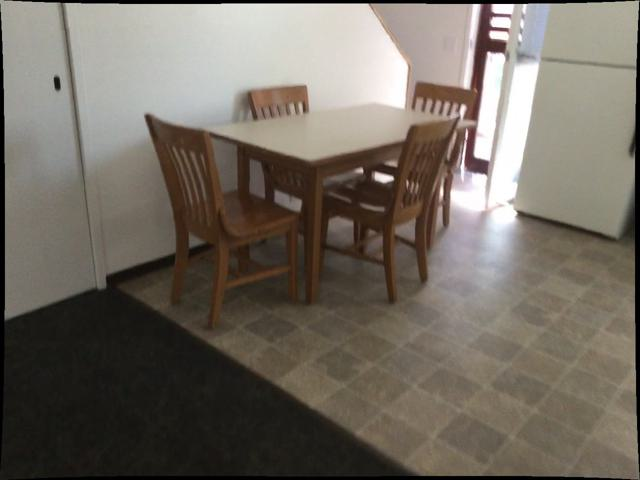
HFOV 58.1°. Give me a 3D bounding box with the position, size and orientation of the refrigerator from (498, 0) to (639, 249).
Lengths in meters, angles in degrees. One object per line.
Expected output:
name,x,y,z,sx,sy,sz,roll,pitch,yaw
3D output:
refrigerator,1.847,-0.901,3.760,0.869,1.592,0.750,19,29,35

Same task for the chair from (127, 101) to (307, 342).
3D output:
chair,-0.439,-0.120,2.600,0.520,0.871,0.540,19,29,35

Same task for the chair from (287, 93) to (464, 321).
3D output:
chair,0.250,-0.200,2.860,0.639,0.901,0.510,19,29,35

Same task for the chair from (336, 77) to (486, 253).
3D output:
chair,0.549,-0.501,3.590,0.639,0.881,0.580,19,29,35

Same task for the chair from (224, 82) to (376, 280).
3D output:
chair,-0.120,-0.361,3.220,0.649,0.901,0.480,19,29,35
